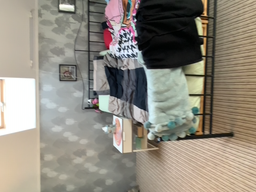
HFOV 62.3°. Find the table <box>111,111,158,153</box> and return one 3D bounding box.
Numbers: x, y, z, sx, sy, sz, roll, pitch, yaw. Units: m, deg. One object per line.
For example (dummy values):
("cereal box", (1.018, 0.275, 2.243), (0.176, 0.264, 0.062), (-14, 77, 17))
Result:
("table", (0.080, 0.490, 3.040), (0.430, 0.530, 0.470), (-167, 77, -69))
